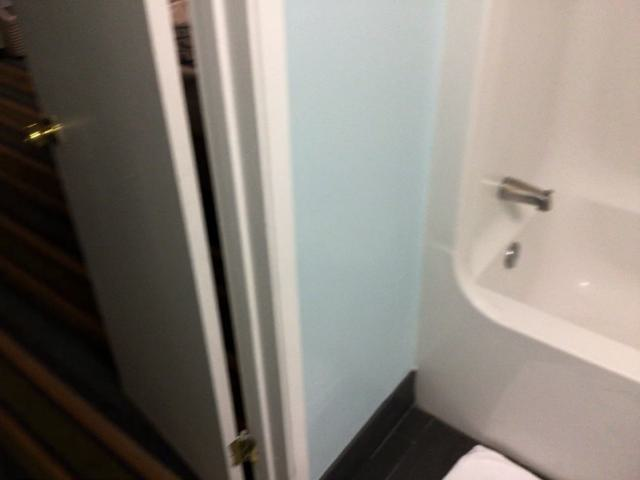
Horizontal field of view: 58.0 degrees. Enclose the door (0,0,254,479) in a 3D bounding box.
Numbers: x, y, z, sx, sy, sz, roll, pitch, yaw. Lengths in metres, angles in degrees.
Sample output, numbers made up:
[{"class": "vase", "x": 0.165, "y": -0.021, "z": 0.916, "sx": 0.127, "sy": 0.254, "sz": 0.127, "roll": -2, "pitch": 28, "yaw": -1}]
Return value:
[{"class": "door", "x": -0.430, "y": -0.060, "z": 1.190, "sx": 0.620, "sy": 1.560, "sz": 0.090, "roll": 28, "pitch": 44, "yaw": 37}]
